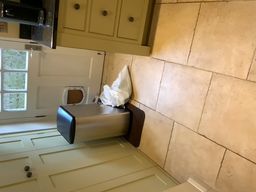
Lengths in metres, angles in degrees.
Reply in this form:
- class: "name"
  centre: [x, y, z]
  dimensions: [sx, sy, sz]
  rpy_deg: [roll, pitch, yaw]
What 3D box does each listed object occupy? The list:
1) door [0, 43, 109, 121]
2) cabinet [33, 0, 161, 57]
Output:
- class: "door"
  centre: [-1.230, -0.120, 2.050]
  dimensions: [0.070, 2.260, 0.760]
  rpy_deg: [30, 115, 49]
- class: "cabinet"
  centre: [-0.240, -0.920, 1.800]
  dimensions: [0.600, 0.890, 1.010]
  rpy_deg: [27, 113, 50]
